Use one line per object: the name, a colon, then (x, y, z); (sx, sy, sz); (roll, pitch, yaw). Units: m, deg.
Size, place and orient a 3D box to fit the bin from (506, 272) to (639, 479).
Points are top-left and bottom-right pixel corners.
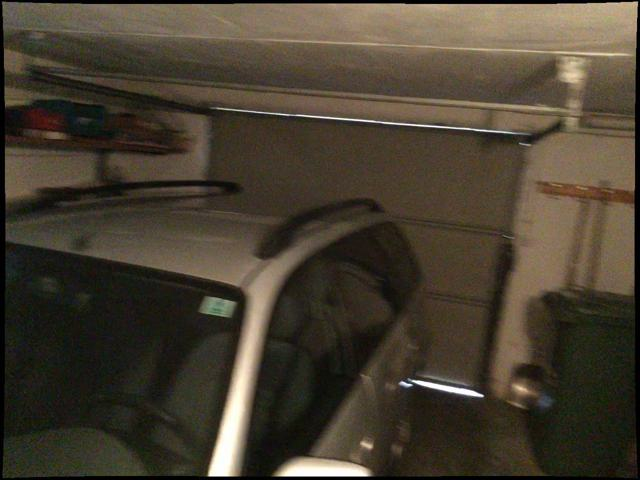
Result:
bin: (1.558, 0.861, 3.240); (0.769, 1.051, 0.930); (11, 13, 14)
